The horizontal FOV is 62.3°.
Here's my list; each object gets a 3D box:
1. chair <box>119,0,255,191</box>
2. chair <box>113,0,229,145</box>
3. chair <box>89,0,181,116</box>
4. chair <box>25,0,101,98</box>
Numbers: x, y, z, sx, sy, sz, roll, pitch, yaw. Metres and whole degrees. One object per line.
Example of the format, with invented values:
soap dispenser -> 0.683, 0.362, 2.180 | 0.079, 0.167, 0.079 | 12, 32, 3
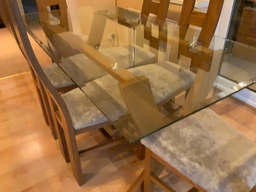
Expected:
chair -> 0.360, 0.210, 0.850 | 0.500, 1.050, 0.610 | -21, 39, -27
chair -> 0.280, -0.250, 1.570 | 0.620, 1.020, 0.400 | -21, 39, -27
chair -> 0.060, -0.430, 1.840 | 0.590, 1.020, 0.390 | -21, 39, -27
chair -> -0.660, -0.620, 2.140 | 0.440, 1.020, 0.660 | -20, 38, -26
